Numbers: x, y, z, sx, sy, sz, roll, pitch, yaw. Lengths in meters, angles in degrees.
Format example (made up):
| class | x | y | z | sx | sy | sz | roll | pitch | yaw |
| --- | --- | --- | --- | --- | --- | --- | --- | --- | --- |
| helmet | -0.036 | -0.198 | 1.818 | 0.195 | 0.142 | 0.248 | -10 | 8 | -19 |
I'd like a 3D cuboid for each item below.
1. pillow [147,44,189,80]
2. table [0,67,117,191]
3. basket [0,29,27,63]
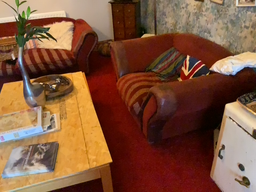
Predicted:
| class | x | y | z | sx | sy | sz | roll | pitch | yaw |
| --- | --- | --- | --- | --- | --- | --- | --- | --- | --- |
| pillow | 0.450 | -0.410 | 2.470 | 0.370 | 0.070 | 0.360 | -40 | 35 | 7 |
| table | -0.750 | 0.280 | 2.030 | 0.910 | 0.420 | 1.500 | -11 | 33 | -13 |
| basket | -1.820 | -0.720 | 3.060 | 0.400 | 0.310 | 0.480 | 24 | 41 | 36 |
